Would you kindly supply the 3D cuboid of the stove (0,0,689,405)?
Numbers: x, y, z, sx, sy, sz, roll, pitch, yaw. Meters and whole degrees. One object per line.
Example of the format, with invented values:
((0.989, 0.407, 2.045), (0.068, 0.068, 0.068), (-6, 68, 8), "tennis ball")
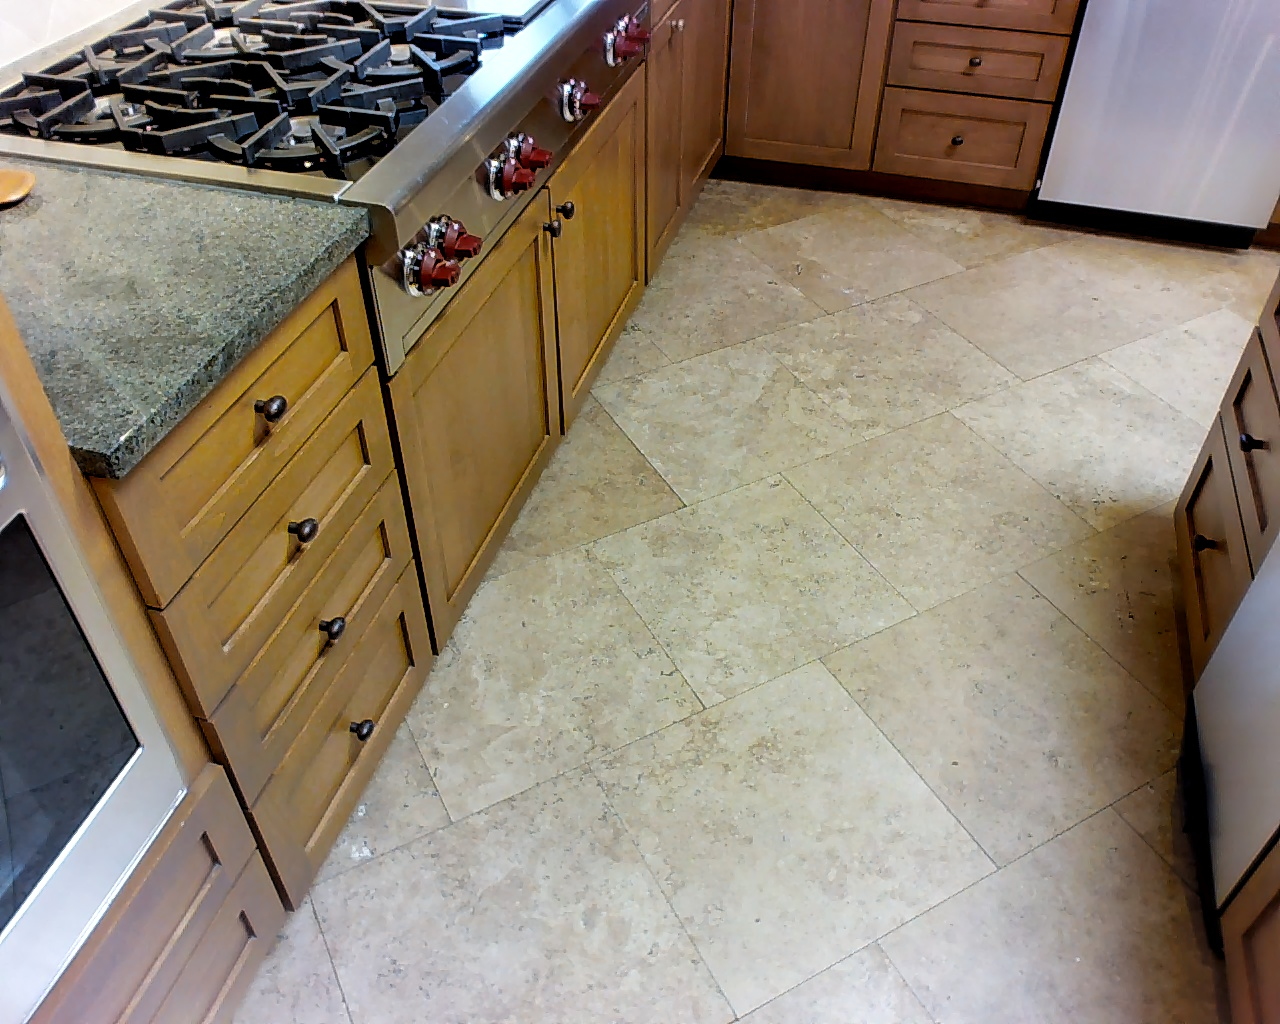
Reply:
((-0.440, -0.720, 1.800), (0.760, 0.300, 1.250), (11, 43, 12), "stove")
